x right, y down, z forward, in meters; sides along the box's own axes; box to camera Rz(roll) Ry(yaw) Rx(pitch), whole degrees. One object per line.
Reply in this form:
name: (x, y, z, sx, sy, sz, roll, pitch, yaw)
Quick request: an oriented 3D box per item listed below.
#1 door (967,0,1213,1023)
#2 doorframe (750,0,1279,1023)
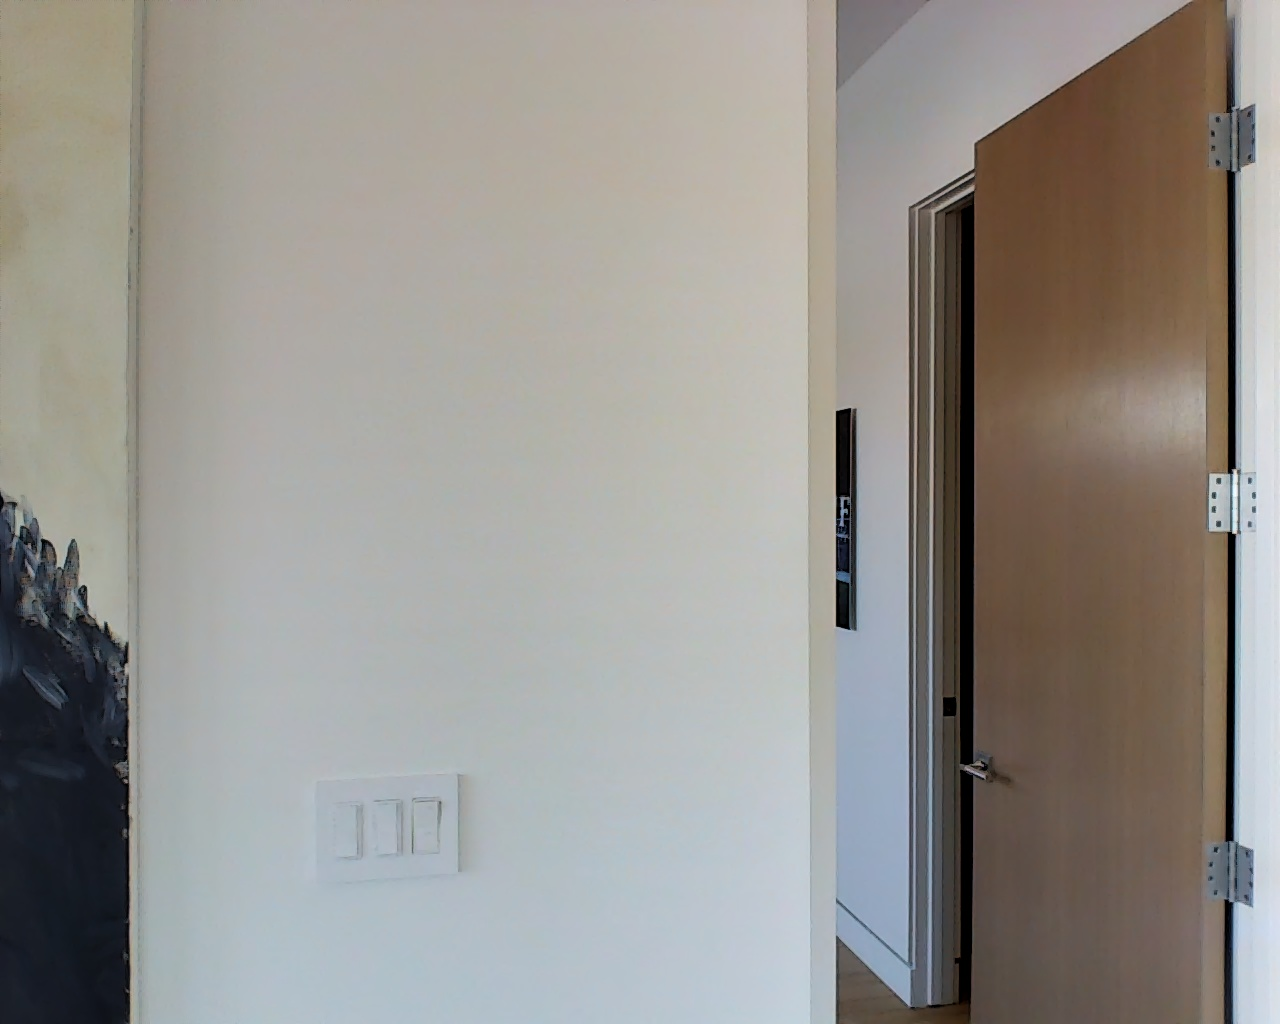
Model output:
door: (0.920, 0.270, 2.320, 0.040, 2.551, 0.880, 0, 1, -8)
doorframe: (0.660, 0.330, 1.710, 0.920, 2.471, 0.290, 0, 1, -11)
